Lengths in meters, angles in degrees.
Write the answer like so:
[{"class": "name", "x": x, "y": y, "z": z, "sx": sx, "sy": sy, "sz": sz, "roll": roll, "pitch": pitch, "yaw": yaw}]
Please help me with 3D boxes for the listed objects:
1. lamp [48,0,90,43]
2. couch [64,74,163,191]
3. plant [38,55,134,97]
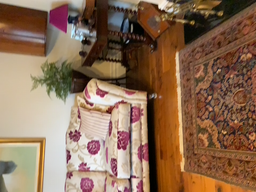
[{"class": "lamp", "x": -0.760, "y": -0.930, "z": 2.710, "sx": 0.360, "sy": 0.480, "sz": 0.320, "roll": 154, "pitch": 116, "yaw": -66}, {"class": "couch", "x": -0.250, "y": 0.880, "z": 2.580, "sx": 1.070, "sy": 0.890, "sz": 1.990, "roll": 154, "pitch": 117, "yaw": -66}, {"class": "plant", "x": -0.580, "y": -0.250, "z": 3.030, "sx": 0.370, "sy": 1.280, "sz": 0.410, "roll": 158, "pitch": 113, "yaw": -66}]
